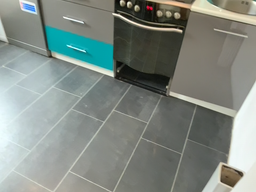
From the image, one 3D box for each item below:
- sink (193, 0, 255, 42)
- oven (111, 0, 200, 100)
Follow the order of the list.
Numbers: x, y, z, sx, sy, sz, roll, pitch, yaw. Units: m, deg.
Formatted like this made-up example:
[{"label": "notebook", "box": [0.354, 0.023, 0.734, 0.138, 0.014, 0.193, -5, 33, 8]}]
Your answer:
[{"label": "sink", "box": [0.820, -0.640, 1.640, 0.490, 0.160, 0.500, 20, 43, 15]}, {"label": "oven", "box": [0.250, -0.500, 2.060, 0.590, 0.690, 0.620, 20, 43, 15]}]
